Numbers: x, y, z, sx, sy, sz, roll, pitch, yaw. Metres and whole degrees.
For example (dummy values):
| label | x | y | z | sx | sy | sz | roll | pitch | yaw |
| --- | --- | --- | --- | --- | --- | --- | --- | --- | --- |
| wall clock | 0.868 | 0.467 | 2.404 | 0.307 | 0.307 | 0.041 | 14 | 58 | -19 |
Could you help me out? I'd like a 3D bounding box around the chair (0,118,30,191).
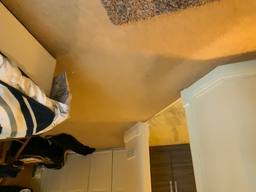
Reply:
| label | x | y | z | sx | sy | sz | roll | pitch | yaw |
| --- | --- | --- | --- | --- | --- | --- | --- | --- | --- |
| chair | -1.610 | 0.730 | 2.520 | 0.480 | 0.760 | 0.460 | -8 | 150 | 14 |
